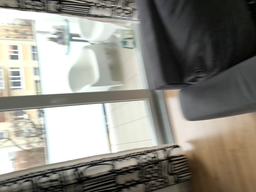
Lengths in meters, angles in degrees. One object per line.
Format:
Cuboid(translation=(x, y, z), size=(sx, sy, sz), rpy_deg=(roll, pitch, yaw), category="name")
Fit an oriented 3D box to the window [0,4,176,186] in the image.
Cuboid(translation=(-0.740, -0.100, 2.070), size=(0.180, 2.470, 1.610), rpy_deg=(-35, 64, 58), category="window")
